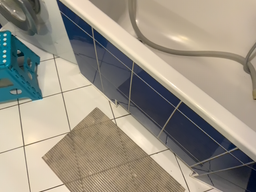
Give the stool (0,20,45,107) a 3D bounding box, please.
[{"bbox_3d":[-0.700,-0.150,1.140,0.380,0.300,0.320,-11,67,-6],"label":"stool"}]
